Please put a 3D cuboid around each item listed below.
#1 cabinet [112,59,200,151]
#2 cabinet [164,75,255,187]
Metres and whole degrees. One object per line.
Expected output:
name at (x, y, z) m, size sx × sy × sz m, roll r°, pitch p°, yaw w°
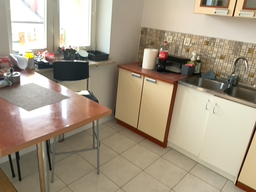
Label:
cabinet at (0.330, 0.050, 2.780) m, size 0.840 × 0.860 × 0.580 m, roll 24°, pitch 27°, yaw 37°
cabinet at (0.940, 0.310, 2.310) m, size 0.790 × 0.830 × 0.520 m, roll 24°, pitch 27°, yaw 37°
